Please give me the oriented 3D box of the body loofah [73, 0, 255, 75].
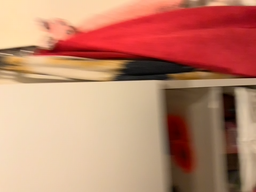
[{"bbox_3d":[0.280,-0.170,0.560,0.280,0.780,0.180,176,91,-66],"label":"body loofah"}]
